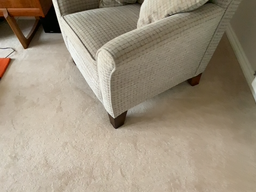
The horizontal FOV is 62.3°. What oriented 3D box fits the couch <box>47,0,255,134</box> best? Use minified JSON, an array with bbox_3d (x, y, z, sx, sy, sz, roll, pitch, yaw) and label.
[{"bbox_3d":[0.130,-0.490,1.250,0.940,0.820,0.760,-28,56,-21],"label":"couch"}]
